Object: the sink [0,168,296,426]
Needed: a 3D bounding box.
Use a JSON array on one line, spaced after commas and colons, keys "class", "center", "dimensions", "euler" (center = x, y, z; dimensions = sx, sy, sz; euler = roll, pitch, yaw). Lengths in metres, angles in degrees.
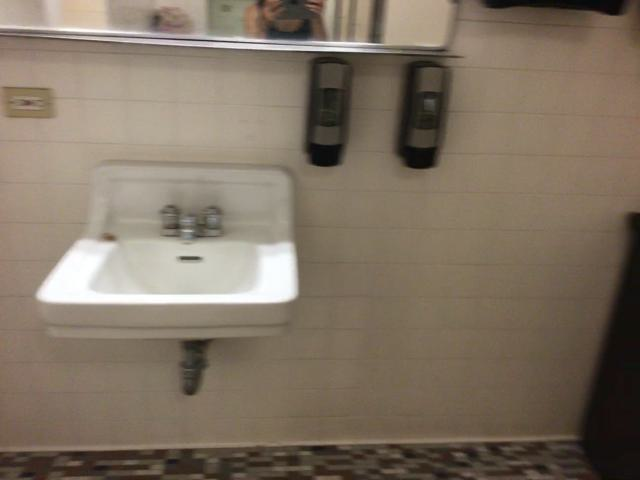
[{"class": "sink", "center": [-0.340, 0.100, 1.350], "dimensions": [0.560, 0.420, 0.490], "euler": [0, 21, -2]}]
